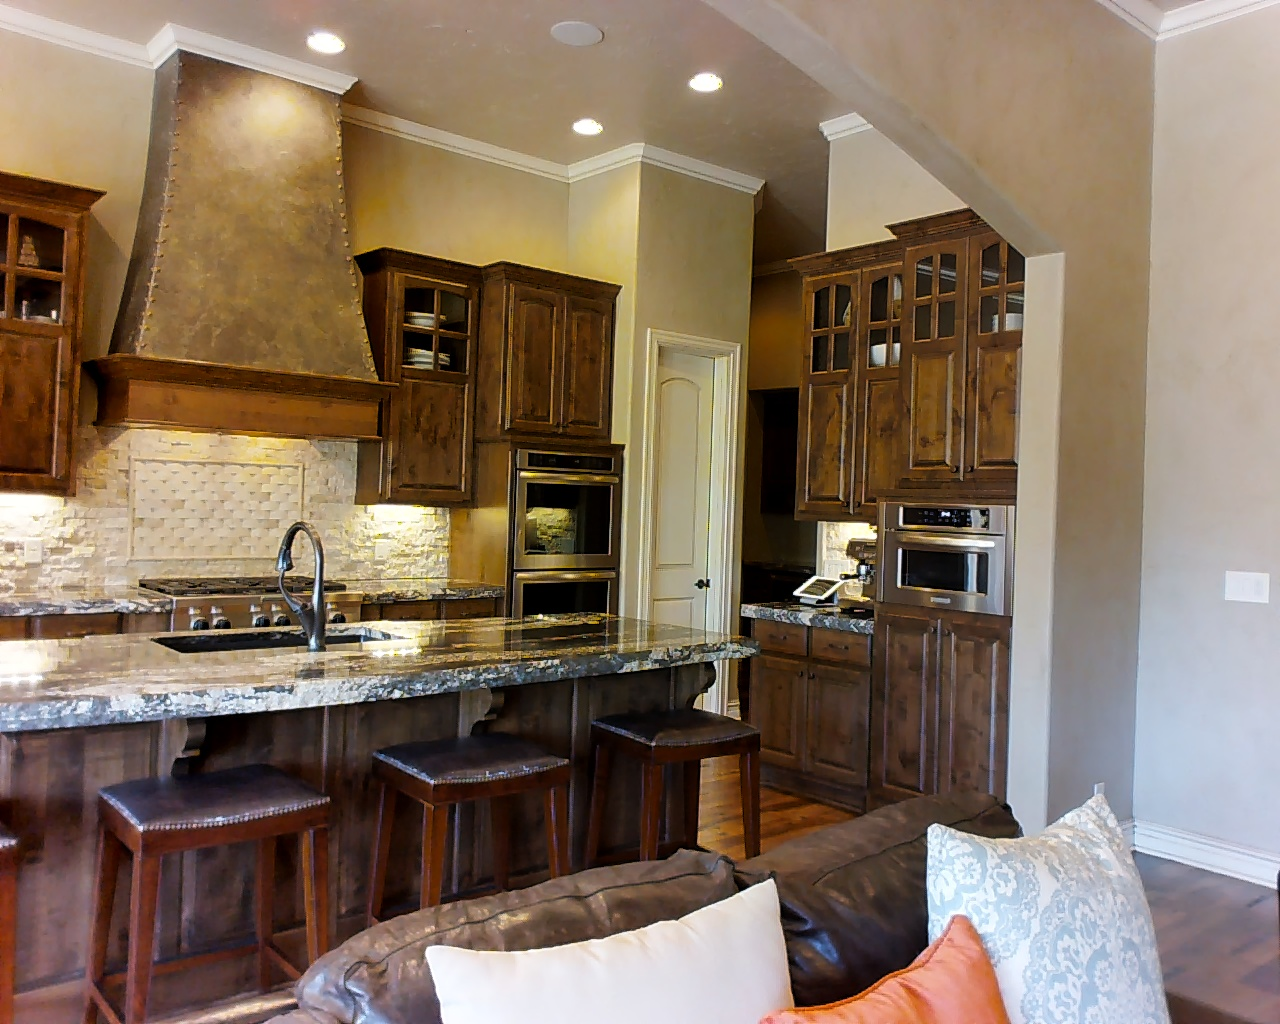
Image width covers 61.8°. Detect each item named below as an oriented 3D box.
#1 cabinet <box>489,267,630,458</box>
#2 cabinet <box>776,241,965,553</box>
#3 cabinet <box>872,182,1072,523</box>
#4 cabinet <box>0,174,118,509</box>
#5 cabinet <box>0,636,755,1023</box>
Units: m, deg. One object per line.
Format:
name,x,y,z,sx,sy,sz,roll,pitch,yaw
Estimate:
cabinet,-0.470,-0.870,6.420,0.910,1.030,0.130,2,0,-40
cabinet,1.200,-0.560,5.640,0.400,1.510,0.870,2,0,-40
cabinet,1.480,-0.670,4.840,0.220,1.420,0.840,2,0,-40
cabinet,-2.800,-0.740,4.870,0.630,1.430,0.460,2,0,-38
cabinet,-1.060,0.970,3.410,3.030,0.900,0.990,2,0,-40
